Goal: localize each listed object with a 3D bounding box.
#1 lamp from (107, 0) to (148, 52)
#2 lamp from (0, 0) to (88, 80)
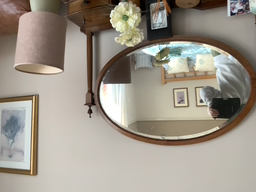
[{"bbox_3d":[0.000,-0.400,0.920,0.130,0.370,0.140,-3,174,22],"label":"lamp"},{"bbox_3d":[-0.380,-0.330,0.980,0.280,0.460,0.270,-3,174,20],"label":"lamp"}]
